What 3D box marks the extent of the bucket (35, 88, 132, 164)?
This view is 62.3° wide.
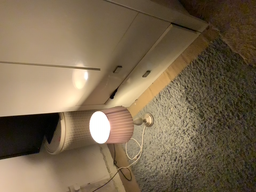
[{"bbox_3d":[-0.370,0.220,1.740,0.380,0.580,0.410,-48,57,37],"label":"bucket"}]
